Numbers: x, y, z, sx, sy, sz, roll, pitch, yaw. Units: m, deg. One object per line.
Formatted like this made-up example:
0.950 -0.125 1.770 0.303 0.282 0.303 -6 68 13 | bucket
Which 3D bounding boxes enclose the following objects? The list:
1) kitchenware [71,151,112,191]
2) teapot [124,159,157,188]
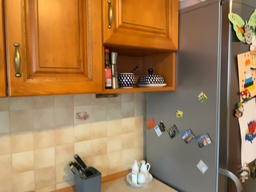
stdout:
-0.200 0.430 1.150 0.160 0.190 0.180 -3 5 -33 | kitchenware
0.080 0.460 1.280 0.170 0.080 0.180 1 5 12 | teapot
